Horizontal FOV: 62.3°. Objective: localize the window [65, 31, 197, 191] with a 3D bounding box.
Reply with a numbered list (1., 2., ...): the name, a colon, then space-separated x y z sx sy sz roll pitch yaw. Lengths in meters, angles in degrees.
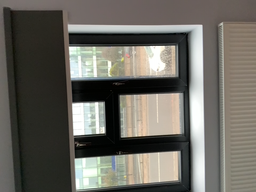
1. window: 0.050 0.180 1.900 0.160 1.110 1.450 -160 68 -81
